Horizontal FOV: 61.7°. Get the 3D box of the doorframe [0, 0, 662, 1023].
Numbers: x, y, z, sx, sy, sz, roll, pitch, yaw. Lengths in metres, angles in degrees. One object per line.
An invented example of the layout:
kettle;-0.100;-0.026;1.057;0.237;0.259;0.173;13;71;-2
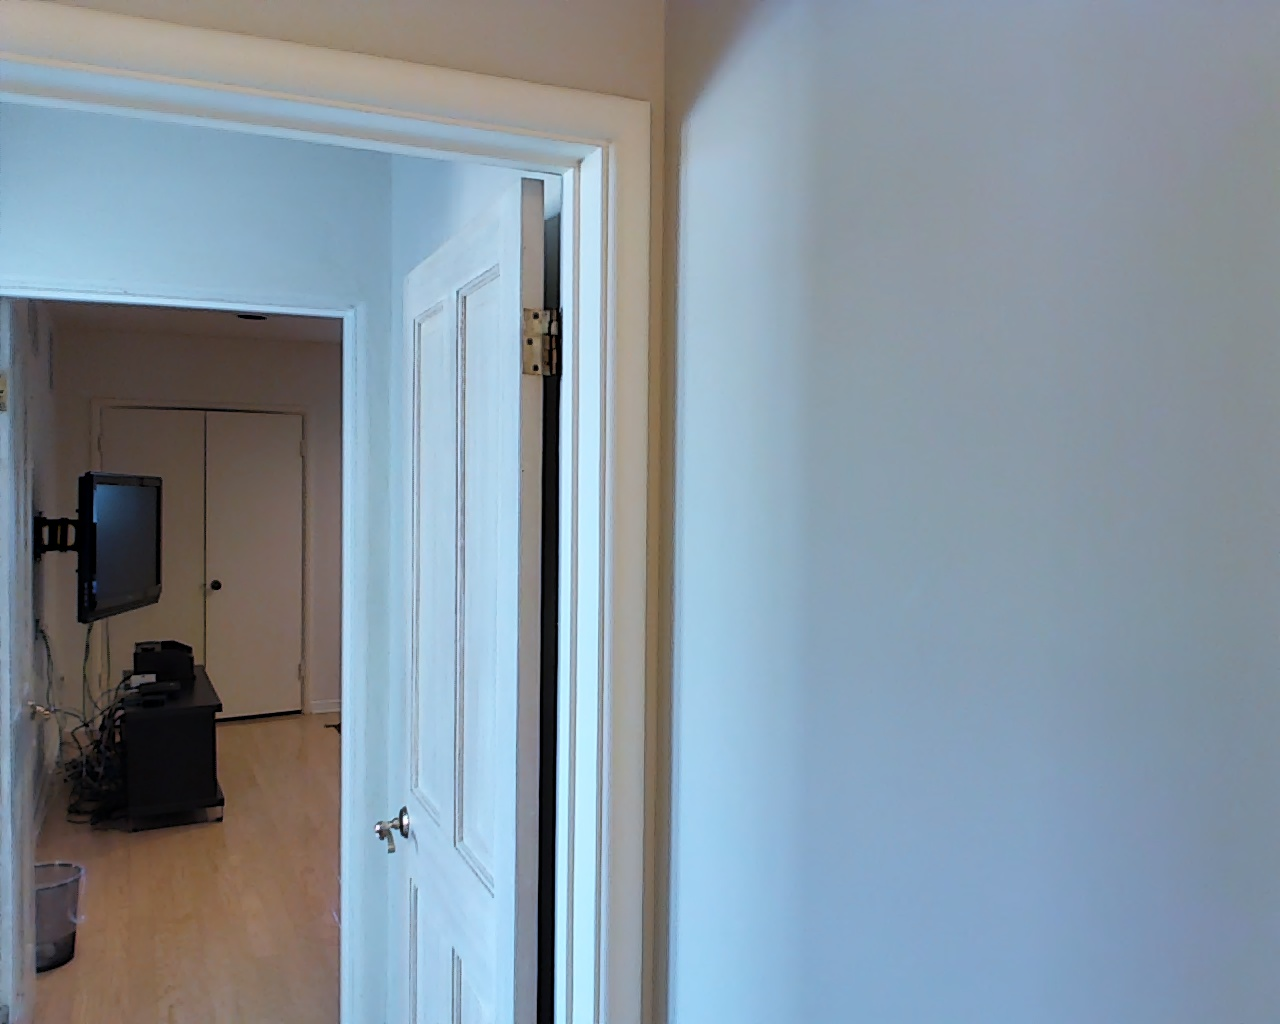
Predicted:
doorframe;-0.430;0.510;1.280;0.900;2.131;0.180;0;2;-24
